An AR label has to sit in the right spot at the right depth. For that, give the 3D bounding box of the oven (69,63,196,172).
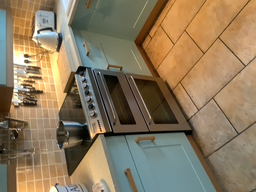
[{"bbox_3d":[0.000,0.200,1.900,0.630,0.780,0.610,-55,45,38],"label":"oven"}]
